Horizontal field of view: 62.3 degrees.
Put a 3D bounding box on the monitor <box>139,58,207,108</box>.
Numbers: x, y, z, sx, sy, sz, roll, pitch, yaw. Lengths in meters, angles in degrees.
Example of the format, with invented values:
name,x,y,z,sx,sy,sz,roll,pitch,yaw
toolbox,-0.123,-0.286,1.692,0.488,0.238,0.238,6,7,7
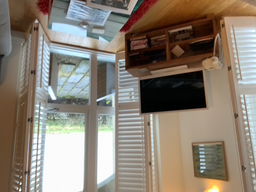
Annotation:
name,x,y,z,sx,sy,sz,roll,pitch,yaw
monitor,0.470,-0.130,2.350,0.710,0.470,0.040,-6,167,22
